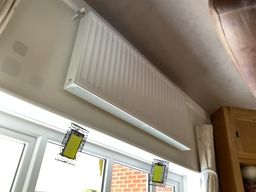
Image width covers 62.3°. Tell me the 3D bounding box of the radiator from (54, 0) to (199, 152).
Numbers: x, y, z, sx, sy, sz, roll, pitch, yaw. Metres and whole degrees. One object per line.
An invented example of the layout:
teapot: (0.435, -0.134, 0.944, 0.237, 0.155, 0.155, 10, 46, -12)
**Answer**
radiator: (0.150, -0.060, 1.810, 0.180, 0.720, 1.470, -21, 143, 37)
